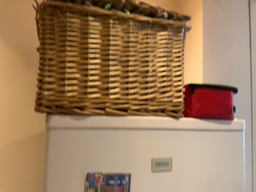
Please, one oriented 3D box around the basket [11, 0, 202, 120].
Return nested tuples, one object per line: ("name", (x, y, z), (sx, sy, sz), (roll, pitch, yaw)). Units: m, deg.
("basket", (-0.100, -0.120, 0.770), (0.430, 0.380, 0.590), (3, -5, -17))
